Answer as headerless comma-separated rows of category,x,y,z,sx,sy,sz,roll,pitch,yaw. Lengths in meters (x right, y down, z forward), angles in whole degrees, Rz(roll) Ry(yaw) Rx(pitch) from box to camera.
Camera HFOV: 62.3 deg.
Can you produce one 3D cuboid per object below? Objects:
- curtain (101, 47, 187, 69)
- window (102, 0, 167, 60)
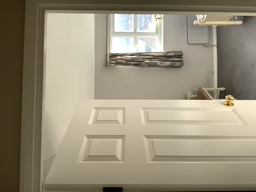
curtain,0.290,-0.700,3.930,0.210,1.550,0.340,104,166,-83
window,0.130,-1.570,4.250,0.290,1.230,1.640,113,158,-86
